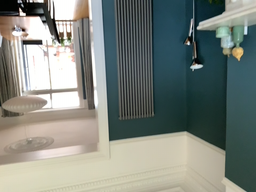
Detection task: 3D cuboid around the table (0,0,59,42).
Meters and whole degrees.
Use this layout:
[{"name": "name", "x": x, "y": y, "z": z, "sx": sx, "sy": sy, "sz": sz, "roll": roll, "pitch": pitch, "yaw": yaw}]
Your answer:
[{"name": "table", "x": -2.120, "y": -1.690, "z": 4.260, "sx": 1.250, "sy": 0.890, "sz": 2.430, "roll": -4, "pitch": -172, "yaw": -15}]
